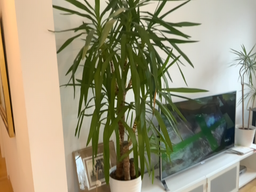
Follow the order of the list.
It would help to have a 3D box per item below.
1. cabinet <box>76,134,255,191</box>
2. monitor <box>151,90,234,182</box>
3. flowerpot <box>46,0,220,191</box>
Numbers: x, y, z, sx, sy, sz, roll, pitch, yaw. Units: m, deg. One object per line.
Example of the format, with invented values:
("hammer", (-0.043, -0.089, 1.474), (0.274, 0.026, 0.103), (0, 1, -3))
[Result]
("cabinet", (0.650, 0.940, 2.320), (2.410, 0.420, 0.490), (-8, 11, -34))
("monitor", (0.750, 0.360, 2.280), (1.240, 0.720, 0.090), (-8, 11, -35))
("flowerpot", (0.010, -0.130, 1.600), (0.880, 1.950, 0.890), (-8, 11, -35))
